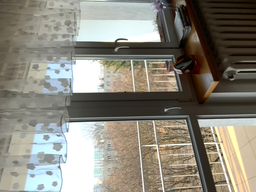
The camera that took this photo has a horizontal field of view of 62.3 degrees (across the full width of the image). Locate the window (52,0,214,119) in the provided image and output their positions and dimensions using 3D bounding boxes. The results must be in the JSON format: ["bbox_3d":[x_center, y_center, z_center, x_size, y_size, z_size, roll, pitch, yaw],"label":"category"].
[{"bbox_3d":[-0.010,-0.550,1.880,0.200,1.050,1.560,97,170,-55],"label":"window"}]

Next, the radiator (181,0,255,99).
[{"bbox_3d":[0.940,-0.770,1.970,0.240,0.680,1.740,97,170,-55],"label":"radiator"}]
